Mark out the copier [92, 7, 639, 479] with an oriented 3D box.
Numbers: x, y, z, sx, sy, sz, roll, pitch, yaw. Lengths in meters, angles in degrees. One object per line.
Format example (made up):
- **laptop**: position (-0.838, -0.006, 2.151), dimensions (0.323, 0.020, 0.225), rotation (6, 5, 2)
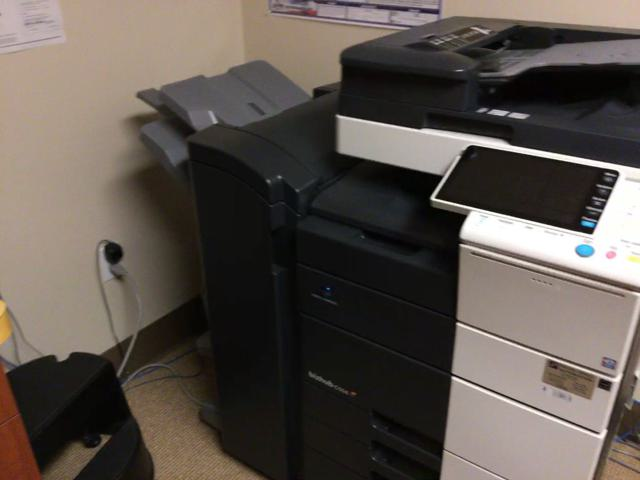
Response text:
- **copier**: position (0.190, 0.100, 1.410), dimensions (1.120, 1.150, 0.660), rotation (17, 33, 32)
